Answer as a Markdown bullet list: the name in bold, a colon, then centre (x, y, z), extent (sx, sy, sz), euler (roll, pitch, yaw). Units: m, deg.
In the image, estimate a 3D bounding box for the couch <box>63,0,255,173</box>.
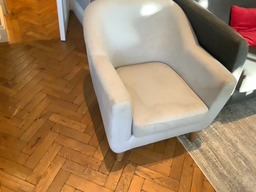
- **couch**: centre (0.080, -0.150, 1.420), extent (0.750, 0.720, 0.830), euler (-15, 51, -22)
